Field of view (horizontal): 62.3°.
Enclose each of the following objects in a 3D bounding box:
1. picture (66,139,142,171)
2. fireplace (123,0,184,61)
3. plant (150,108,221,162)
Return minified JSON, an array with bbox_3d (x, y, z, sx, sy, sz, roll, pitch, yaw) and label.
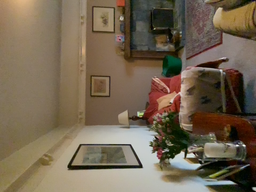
[{"bbox_3d":[-0.250,0.600,2.290,0.960,0.650,0.090,164,106,-83],"label":"picture"},{"bbox_3d":[0.520,-1.750,4.690,0.750,1.180,1.790,155,116,-83],"label":"fireplace"},{"bbox_3d":[0.470,0.310,1.820,0.330,0.500,0.400,169,101,-84],"label":"plant"}]
